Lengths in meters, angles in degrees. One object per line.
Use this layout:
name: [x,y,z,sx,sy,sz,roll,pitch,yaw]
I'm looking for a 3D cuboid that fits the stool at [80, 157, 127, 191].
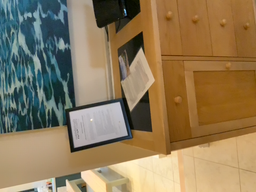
stool: [-0.550,1.660,4.330,1.440,0.450,0.420,-6,88,63]
